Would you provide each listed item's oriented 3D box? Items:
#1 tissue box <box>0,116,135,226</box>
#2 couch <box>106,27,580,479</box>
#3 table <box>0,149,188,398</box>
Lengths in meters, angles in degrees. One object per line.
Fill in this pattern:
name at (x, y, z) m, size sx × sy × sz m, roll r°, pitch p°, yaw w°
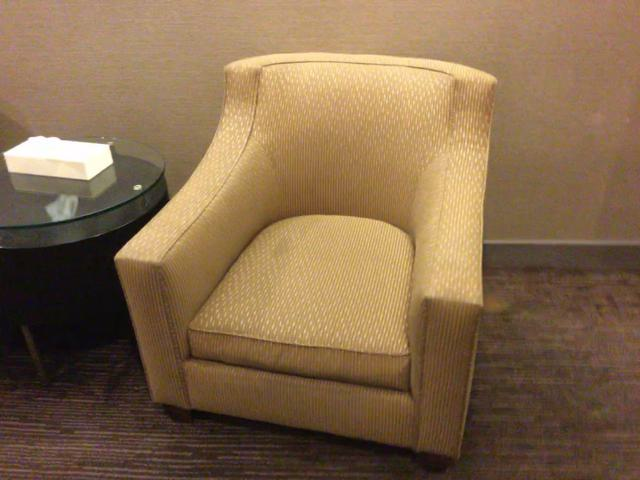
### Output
tissue box at (-0.760, -0.210, 1.730) m, size 0.320 × 0.240 × 0.240 m, roll 3°, pitch 27°, yaw -1°
couch at (0.040, 0.000, 1.680) m, size 0.890 × 0.940 × 0.930 m, roll 13°, pitch 27°, yaw 6°
table at (-0.770, 0.080, 1.800) m, size 0.580 × 0.540 × 0.550 m, roll 3°, pitch 27°, yaw -1°
